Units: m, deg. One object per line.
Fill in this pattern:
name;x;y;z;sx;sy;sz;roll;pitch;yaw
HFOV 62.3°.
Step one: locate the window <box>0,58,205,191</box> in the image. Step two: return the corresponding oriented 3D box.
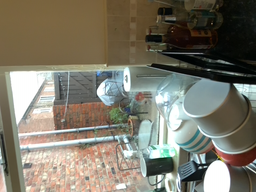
window;-0.490;0.310;1.090;0.250;1.730;0.970;-135;44;-68
